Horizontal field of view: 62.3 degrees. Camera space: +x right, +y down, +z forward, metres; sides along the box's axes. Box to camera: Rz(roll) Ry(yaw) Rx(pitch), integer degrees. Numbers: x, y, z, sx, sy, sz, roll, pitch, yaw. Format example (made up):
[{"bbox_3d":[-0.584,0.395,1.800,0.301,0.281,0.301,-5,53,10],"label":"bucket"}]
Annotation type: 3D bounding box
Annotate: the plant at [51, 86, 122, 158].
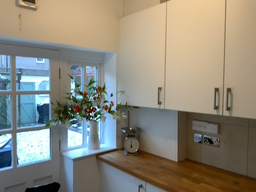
[{"bbox_3d":[-0.410,0.220,2.220,0.690,0.640,0.280,-3,5,-43],"label":"plant"}]
